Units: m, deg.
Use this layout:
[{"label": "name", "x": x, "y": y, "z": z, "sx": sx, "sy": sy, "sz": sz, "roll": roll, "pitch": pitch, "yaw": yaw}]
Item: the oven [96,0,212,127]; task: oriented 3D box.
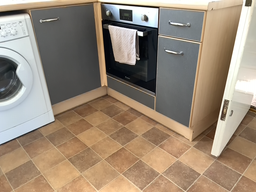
[{"label": "oven", "x": 0.190, "y": -0.360, "z": 1.800, "sx": 0.590, "sy": 0.880, "sz": 0.640, "roll": -23, "pitch": 35, "yaw": -34}]

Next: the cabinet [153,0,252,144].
[{"label": "cabinet", "x": 0.500, "y": -0.210, "z": 1.500, "sx": 0.590, "sy": 0.890, "sz": 0.290, "roll": -24, "pitch": 36, "yaw": -35}]
